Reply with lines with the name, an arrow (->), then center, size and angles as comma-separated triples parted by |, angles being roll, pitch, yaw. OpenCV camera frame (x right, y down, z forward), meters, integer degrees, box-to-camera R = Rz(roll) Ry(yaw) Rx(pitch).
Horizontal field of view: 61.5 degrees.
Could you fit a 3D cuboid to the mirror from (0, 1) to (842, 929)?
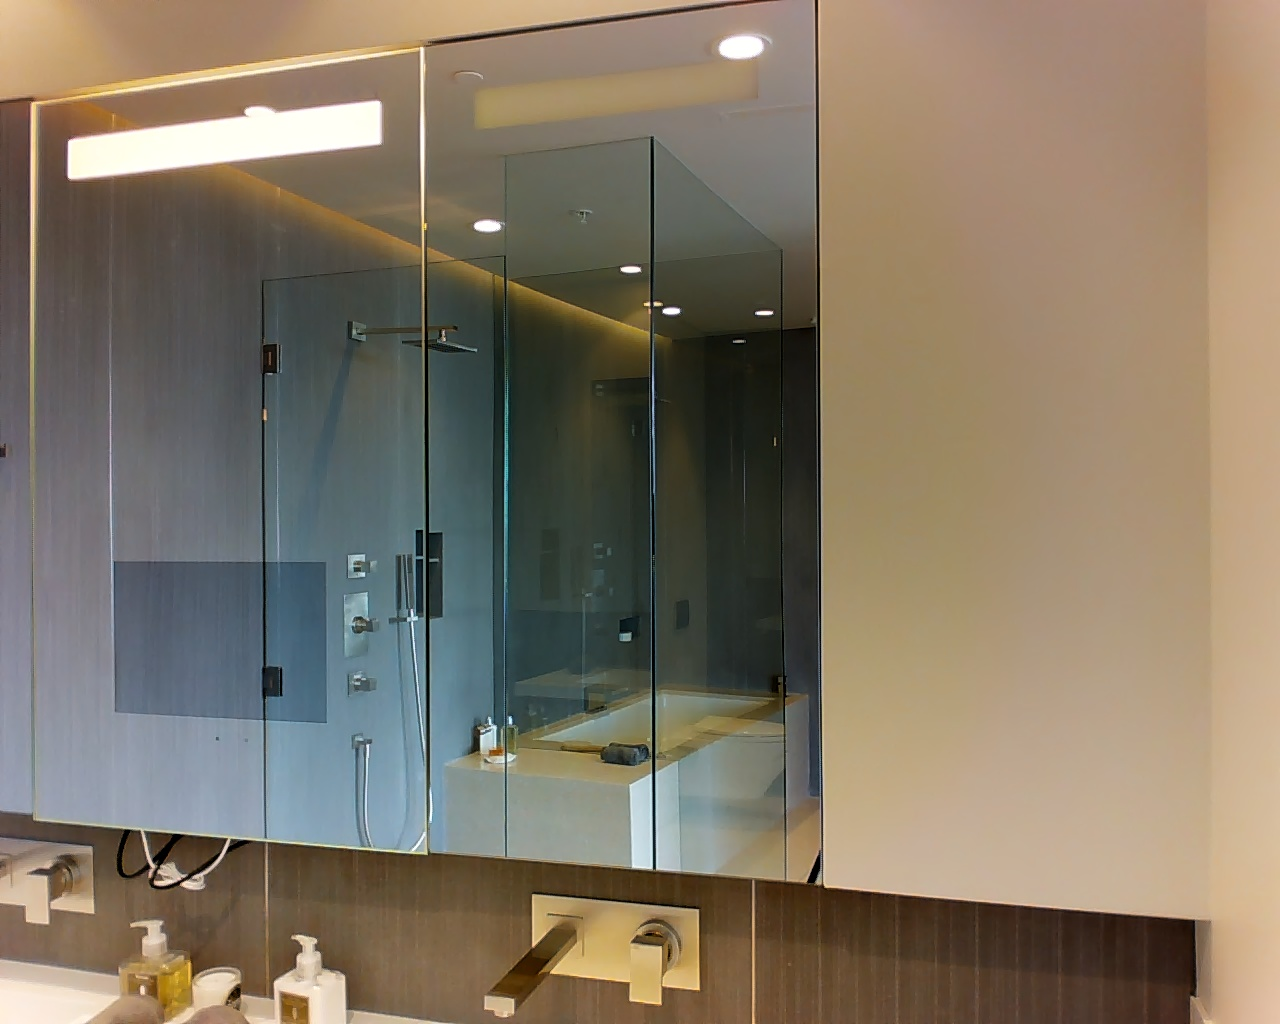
mirror -> -0.470, -0.050, 1.450 | 1.450, 1.030, 0.120 | 0, -1, 16
